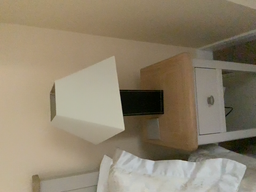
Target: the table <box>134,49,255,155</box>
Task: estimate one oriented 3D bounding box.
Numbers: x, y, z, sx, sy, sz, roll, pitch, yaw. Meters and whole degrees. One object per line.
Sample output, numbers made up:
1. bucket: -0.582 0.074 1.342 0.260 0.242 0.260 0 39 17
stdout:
1. table: 0.420 0.030 1.130 0.400 0.650 0.400 -8 84 62
